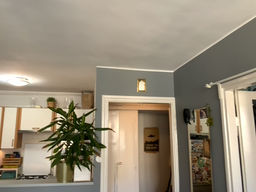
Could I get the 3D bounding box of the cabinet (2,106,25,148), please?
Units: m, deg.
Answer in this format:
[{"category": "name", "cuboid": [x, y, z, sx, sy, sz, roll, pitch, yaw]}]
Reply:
[{"category": "cabinet", "cuboid": [-2.060, 0.550, 3.830, 0.230, 0.720, 0.290, 2, -9, -12]}]
